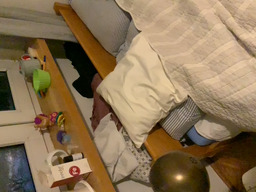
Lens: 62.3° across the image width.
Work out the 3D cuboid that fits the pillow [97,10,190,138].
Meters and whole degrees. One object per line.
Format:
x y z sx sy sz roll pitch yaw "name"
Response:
0.020 -0.080 0.820 0.340 0.140 0.330 -59 33 36 "pillow"
